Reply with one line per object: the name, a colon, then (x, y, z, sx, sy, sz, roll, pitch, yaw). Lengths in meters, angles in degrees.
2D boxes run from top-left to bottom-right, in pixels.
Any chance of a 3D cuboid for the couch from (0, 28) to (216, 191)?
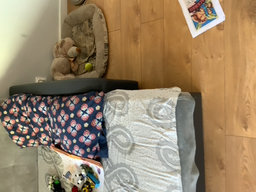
couch: (-0.370, 0.960, 1.330, 1.490, 0.980, 2.240, 0, 92, 39)
